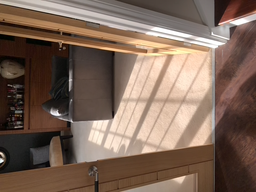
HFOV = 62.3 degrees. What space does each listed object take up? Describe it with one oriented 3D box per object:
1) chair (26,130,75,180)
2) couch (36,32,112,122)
[{"bbox_3d":[-1.720,1.280,4.640,0.750,0.800,0.750,-51,48,44],"label":"chair"},{"bbox_3d":[-0.930,-0.220,3.420,1.300,0.800,1.130,-1,88,58],"label":"couch"}]
